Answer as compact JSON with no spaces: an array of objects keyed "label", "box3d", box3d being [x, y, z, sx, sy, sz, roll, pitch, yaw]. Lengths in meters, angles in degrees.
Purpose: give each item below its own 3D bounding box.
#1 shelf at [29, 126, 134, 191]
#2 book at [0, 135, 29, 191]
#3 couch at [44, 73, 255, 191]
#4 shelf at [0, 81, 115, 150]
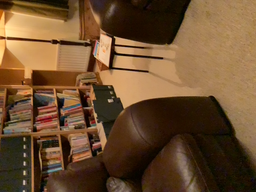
[{"label":"shelf","box3d":[-0.570,0.770,2.460,0.750,1.040,0.310,-114,34,-41]},{"label":"book","box3d":[-1.160,0.730,2.100,0.710,0.320,0.150,-114,34,-41]},{"label":"couch","box3d":[0.080,0.680,1.210,1.080,0.940,1.140,120,141,-47]},{"label":"shelf","box3d":[-1.280,0.210,2.760,0.860,2.060,0.310,-114,34,-41]}]
